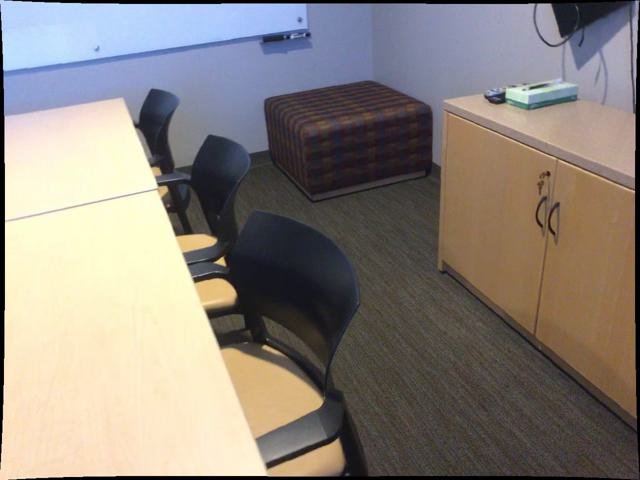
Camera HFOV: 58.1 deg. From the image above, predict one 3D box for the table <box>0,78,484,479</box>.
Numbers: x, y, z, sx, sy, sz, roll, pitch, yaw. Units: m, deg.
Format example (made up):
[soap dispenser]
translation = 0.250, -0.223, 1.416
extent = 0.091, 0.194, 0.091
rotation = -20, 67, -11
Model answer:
[table]
translation = -0.689, 0.220, 1.690
extent = 0.969, 0.771, 2.380
rotation = -16, 31, -18
